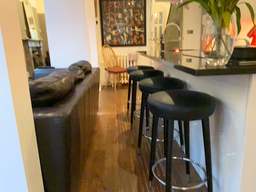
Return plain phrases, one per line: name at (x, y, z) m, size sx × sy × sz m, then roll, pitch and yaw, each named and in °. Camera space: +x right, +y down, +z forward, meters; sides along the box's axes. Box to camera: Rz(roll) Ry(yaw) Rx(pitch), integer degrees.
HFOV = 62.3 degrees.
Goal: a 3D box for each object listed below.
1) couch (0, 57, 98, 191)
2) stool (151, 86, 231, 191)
couch at (-0.880, 0.090, 2.200) m, size 1.010 × 0.790 × 2.290 m, roll -3°, pitch 14°, yaw -5°
stool at (0.360, 0.320, 1.350) m, size 0.350 × 0.700 × 0.350 m, roll -3°, pitch 14°, yaw -6°
